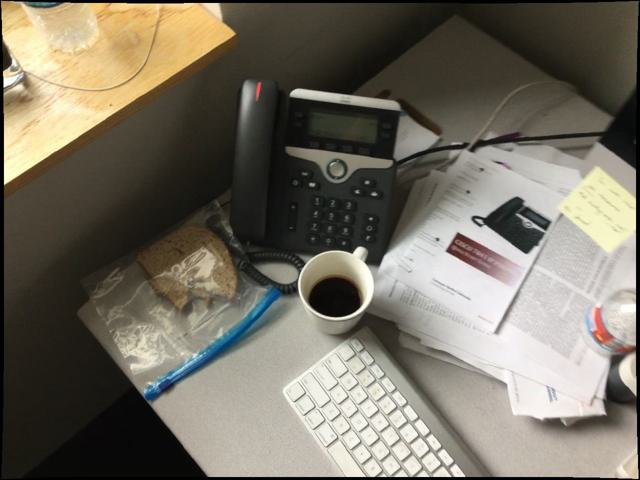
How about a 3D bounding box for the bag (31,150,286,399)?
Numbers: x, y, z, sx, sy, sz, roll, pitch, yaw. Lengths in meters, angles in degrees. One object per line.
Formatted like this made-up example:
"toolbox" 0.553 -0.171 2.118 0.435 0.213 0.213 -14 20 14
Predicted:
"bag" -0.209 0.040 0.770 0.230 0.070 0.230 -40 73 -14
